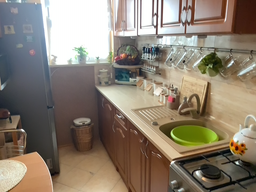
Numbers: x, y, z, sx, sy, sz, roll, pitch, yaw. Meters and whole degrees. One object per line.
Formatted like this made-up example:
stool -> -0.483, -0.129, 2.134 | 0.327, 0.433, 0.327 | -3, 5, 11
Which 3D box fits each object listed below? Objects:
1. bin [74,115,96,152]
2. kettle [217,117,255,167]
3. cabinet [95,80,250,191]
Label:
bin -> -0.590, 0.500, 2.900 | 0.250, 0.410, 0.230 | -5, 16, -17
kettle -> 0.690, 0.230, 1.140 | 0.290, 0.130, 0.240 | -6, 16, -19
cabinet -> 0.170, 0.480, 2.240 | 0.600, 0.910, 1.920 | -6, 16, -19
